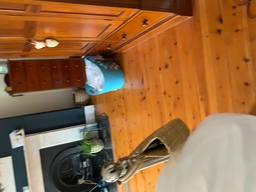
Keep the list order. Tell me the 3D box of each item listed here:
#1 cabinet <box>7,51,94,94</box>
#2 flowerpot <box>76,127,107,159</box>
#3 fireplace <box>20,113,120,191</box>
[{"bbox_3d":[-1.220,-0.380,3.380,0.520,1.160,0.530,-7,90,62],"label":"cabinet"},{"bbox_3d":[-0.600,0.730,3.420,0.470,0.300,0.390,-7,90,62],"label":"flowerpot"},{"bbox_3d":[-0.870,1.130,3.180,0.880,1.140,1.590,-7,90,62],"label":"fireplace"}]
